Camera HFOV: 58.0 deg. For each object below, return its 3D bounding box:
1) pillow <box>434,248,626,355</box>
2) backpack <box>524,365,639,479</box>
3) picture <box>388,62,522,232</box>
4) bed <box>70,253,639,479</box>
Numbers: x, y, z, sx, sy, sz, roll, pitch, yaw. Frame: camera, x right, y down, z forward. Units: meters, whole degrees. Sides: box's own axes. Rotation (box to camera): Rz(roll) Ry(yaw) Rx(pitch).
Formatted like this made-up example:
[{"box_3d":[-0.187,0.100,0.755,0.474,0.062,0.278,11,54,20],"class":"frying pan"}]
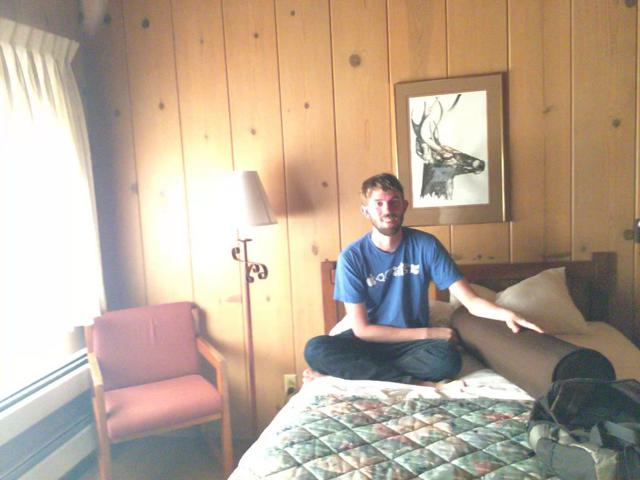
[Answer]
[{"box_3d":[0.880,0.250,2.490,0.700,0.330,0.460,-2,8,18],"class":"pillow"},{"box_3d":[0.700,0.450,1.320,0.420,0.160,0.460,-2,8,18],"class":"backpack"},{"box_3d":[0.620,-0.410,2.670,0.560,0.720,0.060,-2,8,18],"class":"picture"},{"box_3d":[0.510,0.650,1.920,1.490,0.850,1.890,-2,8,19],"class":"bed"}]
